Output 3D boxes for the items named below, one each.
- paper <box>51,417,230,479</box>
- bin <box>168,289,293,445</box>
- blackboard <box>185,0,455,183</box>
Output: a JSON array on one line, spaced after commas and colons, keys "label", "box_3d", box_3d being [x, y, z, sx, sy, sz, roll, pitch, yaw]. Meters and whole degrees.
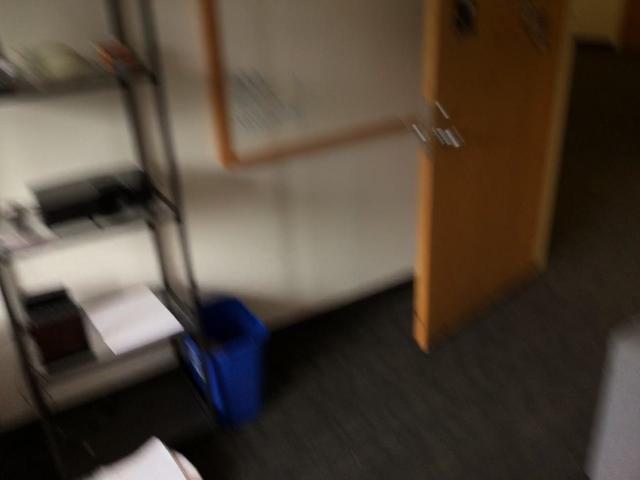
[{"label": "paper", "box_3d": [-0.530, 0.780, 1.740, 0.430, 0.160, 0.360, -17, 26, -30]}, {"label": "bin", "box_3d": [-0.330, 0.450, 2.130, 0.300, 0.370, 0.340, -17, 26, -30]}, {"label": "blackboard", "box_3d": [0.040, -0.940, 1.970, 1.020, 1.300, 0.160, -17, 26, -30]}]
